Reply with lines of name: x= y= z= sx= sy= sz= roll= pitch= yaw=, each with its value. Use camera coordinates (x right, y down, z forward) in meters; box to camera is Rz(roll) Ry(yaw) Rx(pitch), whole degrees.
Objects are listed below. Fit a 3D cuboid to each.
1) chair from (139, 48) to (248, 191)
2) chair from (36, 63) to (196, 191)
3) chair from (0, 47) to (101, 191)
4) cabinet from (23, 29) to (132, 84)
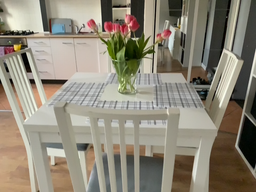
chair: x=0.370 y=0.200 z=1.480 sx=0.530 sy=0.980 sz=0.420 roll=4 pitch=23 yaw=8
chair: x=-0.010 y=0.400 z=0.980 sx=0.420 sy=0.980 sz=0.530 roll=3 pitch=23 yaw=6
chair: x=-0.490 y=0.180 z=1.510 sx=0.490 sy=0.980 sz=0.380 roll=2 pitch=22 yaw=3
cabinet: x=-0.810 y=-0.730 z=3.790 sx=1.730 sy=0.840 sz=0.580 roll=2 pitch=22 yaw=4
